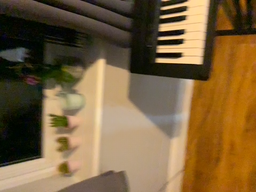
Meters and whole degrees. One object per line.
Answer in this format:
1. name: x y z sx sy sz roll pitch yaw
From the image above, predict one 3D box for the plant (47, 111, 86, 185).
1. plant: -0.310 0.250 1.060 0.120 0.130 0.320 13 101 44
